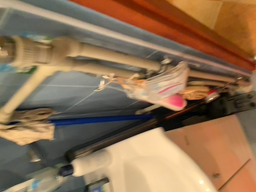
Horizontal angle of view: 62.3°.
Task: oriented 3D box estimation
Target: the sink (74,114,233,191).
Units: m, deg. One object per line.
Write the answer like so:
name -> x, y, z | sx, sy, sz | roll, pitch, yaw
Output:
sink -> 0.090, 0.360, 0.600 | 0.390, 0.190, 0.510 | -27, 73, 37
